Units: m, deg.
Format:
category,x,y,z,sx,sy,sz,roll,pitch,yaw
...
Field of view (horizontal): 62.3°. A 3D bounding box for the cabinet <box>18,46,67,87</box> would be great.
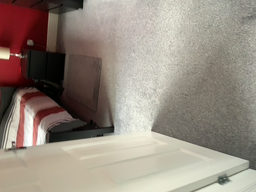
category,x,y,z,sx,sy,sz,roll,pitch,yaw
cabinet,-1.330,-0.450,3.280,0.550,0.540,0.500,25,109,50
